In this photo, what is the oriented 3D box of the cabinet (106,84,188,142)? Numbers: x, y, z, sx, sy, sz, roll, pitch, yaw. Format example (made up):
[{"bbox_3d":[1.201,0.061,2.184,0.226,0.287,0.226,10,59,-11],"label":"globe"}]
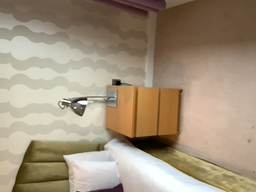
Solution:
[{"bbox_3d":[0.160,0.130,2.000,0.510,0.550,0.430,10,97,58],"label":"cabinet"}]
